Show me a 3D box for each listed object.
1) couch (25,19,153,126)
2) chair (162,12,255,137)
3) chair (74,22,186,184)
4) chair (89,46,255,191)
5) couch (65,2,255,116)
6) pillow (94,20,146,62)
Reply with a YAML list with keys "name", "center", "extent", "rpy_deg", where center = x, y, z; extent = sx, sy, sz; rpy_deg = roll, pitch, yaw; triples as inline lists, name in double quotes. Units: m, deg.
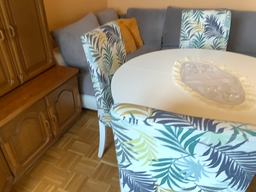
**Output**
- name: "couch"
  center: [-0.350, -0.300, 2.240]
  extent: [1.040, 0.810, 0.610]
  rpy_deg: [11, 33, 18]
- name: "chair"
  center: [0.640, -0.200, 1.920]
  extent: [0.480, 0.960, 0.590]
  rpy_deg: [-2, 31, -3]
- name: "chair"
  center: [0.040, 0.040, 1.520]
  extent: [0.540, 0.970, 0.480]
  rpy_deg: [11, 33, 18]
- name: "chair"
  center: [0.210, 0.350, 0.990]
  extent: [0.500, 0.980, 0.540]
  rpy_deg: [9, 32, 15]
- name: "couch"
  center: [0.680, -0.580, 2.650]
  extent: [2.580, 0.850, 1.070]
  rpy_deg: [11, 33, 18]
- name: "pillow"
  center: [-0.070, -0.700, 2.580]
  extent: [0.370, 0.290, 0.680]
  rpy_deg: [12, 33, 19]
